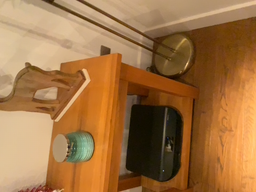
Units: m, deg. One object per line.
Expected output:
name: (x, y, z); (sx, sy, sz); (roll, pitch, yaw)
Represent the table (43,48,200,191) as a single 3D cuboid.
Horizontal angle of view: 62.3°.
table: (0.020, 0.250, 1.230); (0.440, 0.770, 0.790); (1, 83, 43)
